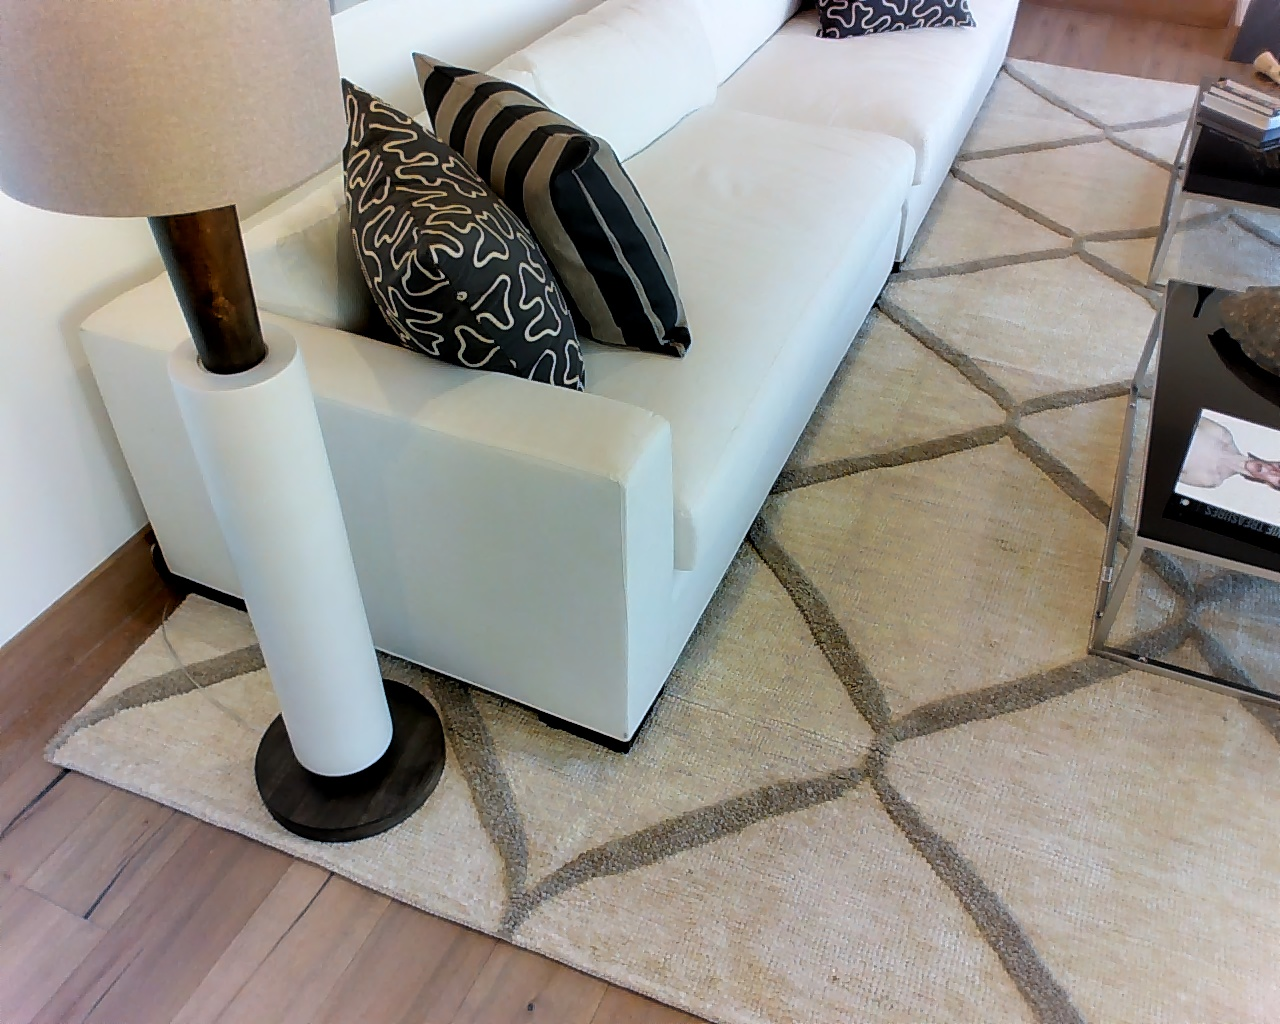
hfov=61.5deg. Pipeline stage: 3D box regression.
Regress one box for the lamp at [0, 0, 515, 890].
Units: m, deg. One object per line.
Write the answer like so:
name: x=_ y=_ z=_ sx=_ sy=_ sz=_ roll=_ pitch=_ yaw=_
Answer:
lamp: x=-0.470 y=-0.190 z=1.310 sx=0.370 sy=1.610 sz=0.390 roll=19 pitch=45 yaw=20

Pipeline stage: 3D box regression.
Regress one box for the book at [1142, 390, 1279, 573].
book: x=1.140 y=-0.050 z=1.980 sx=0.340 sy=0.110 sz=0.330 roll=18 pitch=45 yaw=18

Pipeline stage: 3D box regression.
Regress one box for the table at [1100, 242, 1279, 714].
table: x=1.510 y=-0.050 z=2.170 sx=0.900 sy=0.400 sz=1.020 roll=17 pitch=44 yaw=17
